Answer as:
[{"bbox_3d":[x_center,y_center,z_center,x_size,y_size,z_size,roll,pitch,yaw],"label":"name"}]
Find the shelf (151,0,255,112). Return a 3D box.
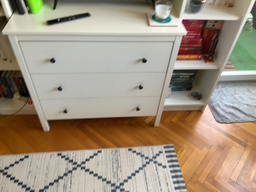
[{"bbox_3d":[0.500,-0.420,1.500,0.430,1.180,0.380,-1,46,-8],"label":"shelf"}]
